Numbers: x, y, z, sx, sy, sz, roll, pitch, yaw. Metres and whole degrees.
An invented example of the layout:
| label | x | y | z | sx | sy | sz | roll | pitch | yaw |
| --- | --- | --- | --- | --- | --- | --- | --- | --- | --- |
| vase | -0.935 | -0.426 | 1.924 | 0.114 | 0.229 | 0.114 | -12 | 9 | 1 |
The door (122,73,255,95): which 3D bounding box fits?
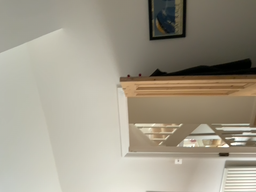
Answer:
| label | x | y | z | sx | sy | sz | roll | pitch | yaw |
| --- | --- | --- | --- | --- | --- | --- | --- | --- | --- |
| door | 1.000 | -0.090 | 1.920 | 0.690 | 2.060 | 0.140 | 38 | -128 | -86 |
